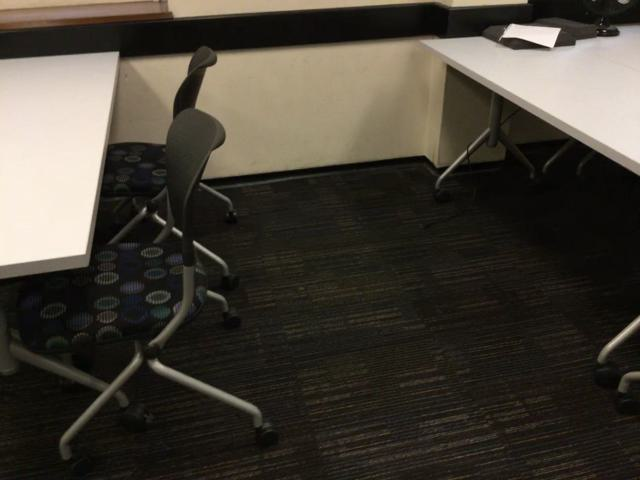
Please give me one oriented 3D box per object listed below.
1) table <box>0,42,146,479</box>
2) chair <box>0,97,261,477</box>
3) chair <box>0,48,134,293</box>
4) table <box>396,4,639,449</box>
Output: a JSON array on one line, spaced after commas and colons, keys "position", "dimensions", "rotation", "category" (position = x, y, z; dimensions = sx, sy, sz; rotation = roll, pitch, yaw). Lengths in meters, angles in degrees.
[{"position": [-0.980, -0.060, 1.950], "dimensions": [0.640, 0.810, 1.720], "rotation": [-7, 31, -13], "category": "table"}, {"position": [-0.520, 0.090, 1.610], "dimensions": [0.620, 0.830, 0.570], "rotation": [-4, 29, -14], "category": "chair"}, {"position": [-1.180, -0.320, 2.330], "dimensions": [0.730, 0.740, 0.810], "rotation": [-4, 28, -14], "category": "chair"}, {"position": [1.250, -0.330, 2.290], "dimensions": [1.310, 0.820, 1.920], "rotation": [-6, 31, -10], "category": "table"}]
